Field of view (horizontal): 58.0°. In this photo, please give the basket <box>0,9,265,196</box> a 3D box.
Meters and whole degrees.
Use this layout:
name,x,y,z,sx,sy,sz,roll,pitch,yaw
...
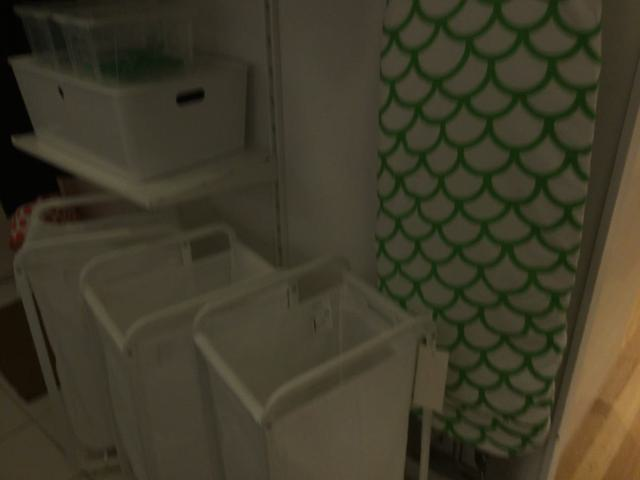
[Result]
name,x,y,z,sx,sy,sz,roll,pitch,yaw
basket,-0.470,-0.380,1.460,0.540,0.300,0.370,22,37,35

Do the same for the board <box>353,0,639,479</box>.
name,x,y,z,sx,sy,sz,roll,pitch,yaw
board,0.290,-0.020,1.070,0.440,1.400,0.140,22,37,35
